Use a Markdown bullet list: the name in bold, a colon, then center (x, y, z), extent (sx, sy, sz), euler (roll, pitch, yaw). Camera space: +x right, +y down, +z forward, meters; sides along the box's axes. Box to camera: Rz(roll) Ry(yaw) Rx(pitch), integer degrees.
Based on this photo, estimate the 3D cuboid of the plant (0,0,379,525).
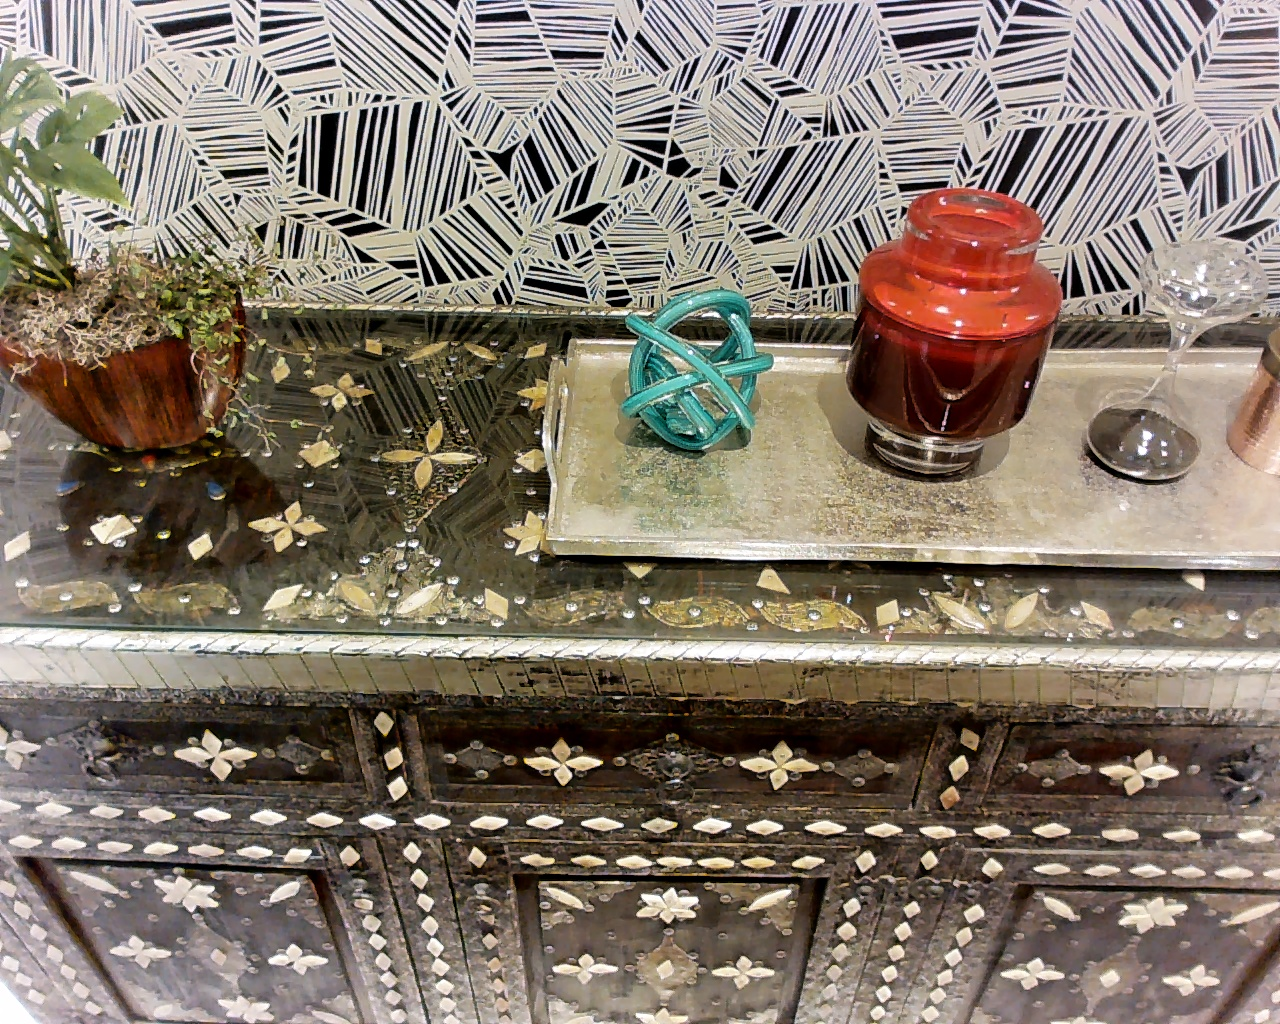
- **plant**: center (-0.450, -0.210, 0.900), extent (0.360, 0.350, 0.260), euler (1, 42, 0)
